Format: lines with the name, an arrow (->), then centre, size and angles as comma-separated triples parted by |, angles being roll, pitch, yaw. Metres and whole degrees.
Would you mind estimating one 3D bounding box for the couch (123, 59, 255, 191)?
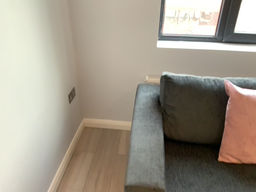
couch -> 0.880, 0.390, 1.320 | 1.720, 0.830, 1.000 | 4, 32, 4
